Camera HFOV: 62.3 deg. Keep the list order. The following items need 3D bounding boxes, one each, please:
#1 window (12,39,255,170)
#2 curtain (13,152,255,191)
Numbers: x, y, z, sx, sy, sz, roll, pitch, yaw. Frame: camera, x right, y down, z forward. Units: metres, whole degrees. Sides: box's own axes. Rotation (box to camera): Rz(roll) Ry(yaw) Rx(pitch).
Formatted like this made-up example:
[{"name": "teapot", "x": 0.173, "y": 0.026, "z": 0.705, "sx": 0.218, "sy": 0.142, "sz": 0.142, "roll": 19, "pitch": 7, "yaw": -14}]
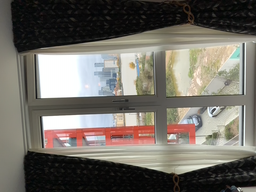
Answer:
[{"name": "window", "x": 0.130, "y": 0.080, "z": 2.400, "sx": 0.110, "sy": 2.670, "sz": 1.340, "roll": -152, "pitch": 60, "yaw": -86}, {"name": "curtain", "x": 0.200, "y": 0.870, "z": 2.150, "sx": 0.310, "sy": 2.500, "sz": 0.380, "roll": 151, "pitch": 116, "yaw": -86}]
